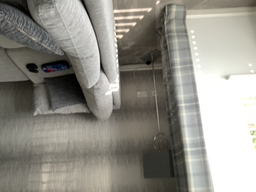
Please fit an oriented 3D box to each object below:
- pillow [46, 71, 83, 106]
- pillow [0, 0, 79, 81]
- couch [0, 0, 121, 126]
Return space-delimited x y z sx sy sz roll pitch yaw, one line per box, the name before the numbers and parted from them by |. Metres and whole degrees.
pillow | -0.680 -0.080 2.310 0.340 0.320 0.200 -2 161 -4
pillow | -0.490 -0.310 1.050 0.270 0.290 0.410 -14 156 25
couch | -0.610 -0.430 1.840 0.990 0.850 2.060 -3 158 -1
